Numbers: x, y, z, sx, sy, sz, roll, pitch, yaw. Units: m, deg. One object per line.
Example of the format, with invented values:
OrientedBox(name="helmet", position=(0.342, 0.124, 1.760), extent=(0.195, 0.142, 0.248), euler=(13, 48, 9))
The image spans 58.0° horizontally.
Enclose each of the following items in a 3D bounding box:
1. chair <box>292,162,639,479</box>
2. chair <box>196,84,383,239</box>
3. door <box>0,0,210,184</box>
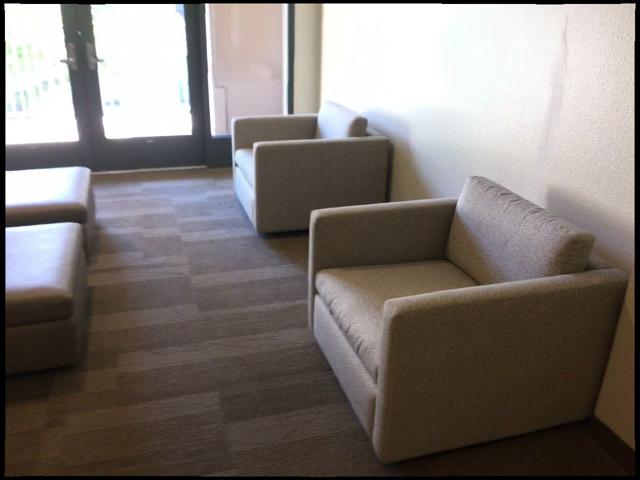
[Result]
OrientedBox(name="chair", position=(0.469, 0.220, 2.210), extent=(0.938, 0.741, 0.900), euler=(-7, 26, -18))
OrientedBox(name="chair", position=(-0.259, -0.601, 3.960), extent=(0.978, 0.711, 1.070), euler=(-7, 26, -18))
OrientedBox(name="door", position=(-1.786, -1.613, 4.280), extent=(1.767, 2.284, 0.330), euler=(-7, 26, -18))
